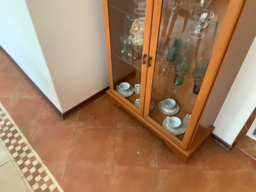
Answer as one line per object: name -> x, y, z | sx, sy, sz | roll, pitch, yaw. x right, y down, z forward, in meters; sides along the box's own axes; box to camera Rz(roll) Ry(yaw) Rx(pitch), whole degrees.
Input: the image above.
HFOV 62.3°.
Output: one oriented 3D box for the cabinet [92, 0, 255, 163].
cabinet -> 0.200, -0.290, 1.300 | 0.330, 1.230, 0.890 | -33, 55, -29
